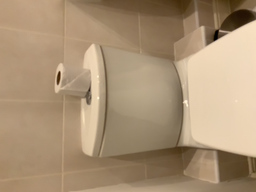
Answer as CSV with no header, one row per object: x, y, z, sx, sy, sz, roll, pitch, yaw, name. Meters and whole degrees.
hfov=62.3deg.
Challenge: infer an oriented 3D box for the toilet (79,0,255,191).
0.310,-0.020,0.660,0.670,0.770,0.390,159,112,-62,toilet
